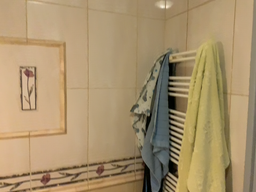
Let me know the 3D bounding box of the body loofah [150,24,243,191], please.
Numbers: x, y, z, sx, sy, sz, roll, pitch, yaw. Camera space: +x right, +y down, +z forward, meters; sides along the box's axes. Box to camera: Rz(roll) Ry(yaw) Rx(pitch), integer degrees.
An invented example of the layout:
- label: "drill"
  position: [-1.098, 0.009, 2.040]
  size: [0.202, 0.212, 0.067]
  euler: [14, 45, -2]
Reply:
- label: "body loofah"
  position: [0.300, 0.320, 1.070]
  size: [0.220, 1.230, 0.350]
  euler: [-1, 6, -23]
